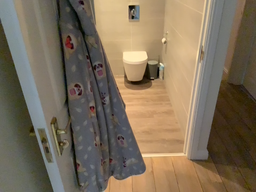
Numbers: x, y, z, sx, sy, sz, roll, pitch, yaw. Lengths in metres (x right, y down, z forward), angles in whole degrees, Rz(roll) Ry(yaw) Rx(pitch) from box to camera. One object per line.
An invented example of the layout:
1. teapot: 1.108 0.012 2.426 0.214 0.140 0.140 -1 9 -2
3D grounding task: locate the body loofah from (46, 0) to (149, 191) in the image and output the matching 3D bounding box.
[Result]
1. body loofah: -0.100 -0.110 1.090 0.350 1.320 0.420 -2 30 -1
